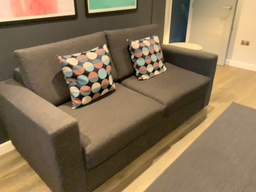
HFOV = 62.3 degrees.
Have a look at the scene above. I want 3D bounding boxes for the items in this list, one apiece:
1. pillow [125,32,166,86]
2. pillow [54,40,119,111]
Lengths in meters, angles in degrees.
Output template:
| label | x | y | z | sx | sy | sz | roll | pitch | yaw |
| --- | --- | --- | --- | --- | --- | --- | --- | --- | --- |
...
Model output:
| label | x | y | z | sx | sy | sz | roll | pitch | yaw |
| --- | --- | --- | --- | --- | --- | --- | --- | --- | --- |
| pillow | 0.190 | -0.400 | 2.270 | 0.420 | 0.390 | 0.180 | -35 | 52 | -29 |
| pillow | -0.310 | -0.170 | 1.740 | 0.170 | 0.390 | 0.440 | 31 | 53 | 33 |
